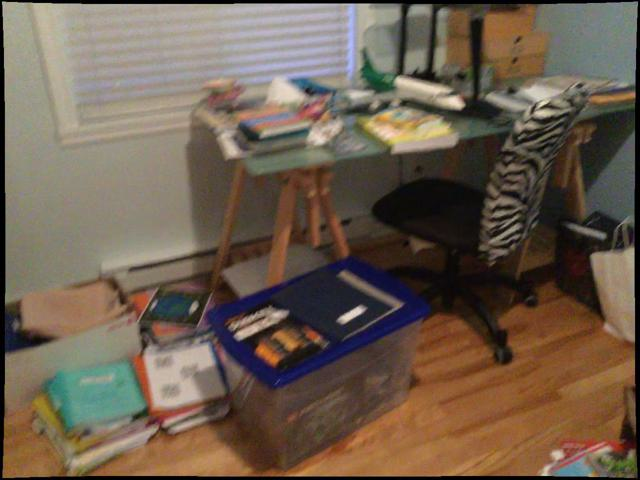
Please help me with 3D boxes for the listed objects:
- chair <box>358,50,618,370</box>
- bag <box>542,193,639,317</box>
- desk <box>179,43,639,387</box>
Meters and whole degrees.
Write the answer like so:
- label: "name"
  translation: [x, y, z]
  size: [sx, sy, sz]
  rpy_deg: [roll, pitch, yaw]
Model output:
- label: "chair"
  translation: [0.529, -0.140, 2.040]
  size: [0.660, 0.881, 0.440]
  rpy_deg: [24, 38, 38]
- label: "bag"
  translation: [1.069, 0.050, 2.210]
  size: [0.250, 0.340, 0.270]
  rpy_deg: [-14, 31, -20]
- label: "desk"
  translation: [0.340, -0.220, 2.270]
  size: [1.499, 0.781, 0.860]
  rpy_deg: [-14, 31, -20]
